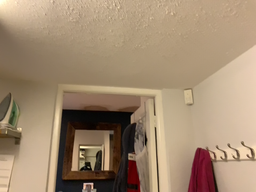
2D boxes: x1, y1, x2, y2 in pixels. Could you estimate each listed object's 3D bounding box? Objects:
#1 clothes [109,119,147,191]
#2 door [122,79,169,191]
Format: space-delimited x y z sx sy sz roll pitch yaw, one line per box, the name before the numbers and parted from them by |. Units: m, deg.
clothes | -0.020 0.940 1.950 0.240 1.360 0.560 3 -17 -12
door | 0.120 1.060 2.030 0.130 2.170 1.140 3 -17 -12
